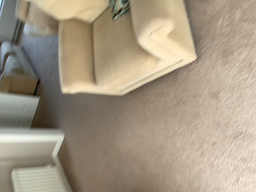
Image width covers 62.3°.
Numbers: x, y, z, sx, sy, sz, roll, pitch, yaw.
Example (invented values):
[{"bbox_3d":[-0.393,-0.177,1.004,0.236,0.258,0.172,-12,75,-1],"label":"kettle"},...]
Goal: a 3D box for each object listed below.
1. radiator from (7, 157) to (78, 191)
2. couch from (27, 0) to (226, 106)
[{"bbox_3d":[-0.810,1.120,2.210,1.200,0.640,0.100,43,115,43],"label":"radiator"},{"bbox_3d":[-0.120,-0.570,1.620,1.160,0.840,0.970,-22,67,44],"label":"couch"}]
